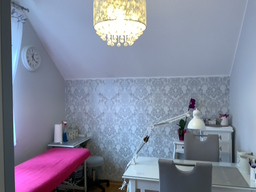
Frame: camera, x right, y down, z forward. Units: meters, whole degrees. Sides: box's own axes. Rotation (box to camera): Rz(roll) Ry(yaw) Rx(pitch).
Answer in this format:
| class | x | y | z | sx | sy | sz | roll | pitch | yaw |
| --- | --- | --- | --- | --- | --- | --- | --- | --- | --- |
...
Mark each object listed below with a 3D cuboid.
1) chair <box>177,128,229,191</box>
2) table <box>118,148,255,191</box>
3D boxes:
| class | x | y | z | sx | sy | sz | roll | pitch | yaw |
| --- | --- | --- | --- | --- | --- | --- | --- | --- | --- |
| chair | 0.810 | 0.910 | 2.390 | 0.490 | 1.000 | 0.510 | 1 | 2 | 15 |
| table | 0.560 | 1.030 | 2.130 | 1.190 | 0.770 | 0.630 | 1 | 2 | 15 |
